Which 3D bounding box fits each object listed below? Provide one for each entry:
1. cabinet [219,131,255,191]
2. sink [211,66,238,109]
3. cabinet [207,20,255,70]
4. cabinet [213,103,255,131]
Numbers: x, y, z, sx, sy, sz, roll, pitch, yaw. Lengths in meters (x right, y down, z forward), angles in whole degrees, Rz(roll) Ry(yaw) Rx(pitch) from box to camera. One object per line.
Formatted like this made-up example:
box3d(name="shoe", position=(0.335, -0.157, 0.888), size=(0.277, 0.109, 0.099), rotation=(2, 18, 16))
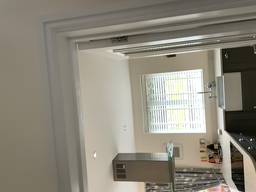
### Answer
box3d(name="cabinet", position=(1.630, 0.740, 2.360), size=(1.350, 0.890, 0.400), rotation=(-17, -77, -76))
box3d(name="sink", position=(1.500, -0.140, 3.340), size=(0.600, 0.240, 0.600), rotation=(-18, -76, -76))
box3d(name="cabinet", position=(1.740, -0.760, 3.240), size=(0.600, 0.890, 0.610), rotation=(-18, -76, -76))
box3d(name="cabinet", position=(1.840, 0.310, 3.300), size=(0.600, 0.870, 0.330), rotation=(-18, -76, -76))
